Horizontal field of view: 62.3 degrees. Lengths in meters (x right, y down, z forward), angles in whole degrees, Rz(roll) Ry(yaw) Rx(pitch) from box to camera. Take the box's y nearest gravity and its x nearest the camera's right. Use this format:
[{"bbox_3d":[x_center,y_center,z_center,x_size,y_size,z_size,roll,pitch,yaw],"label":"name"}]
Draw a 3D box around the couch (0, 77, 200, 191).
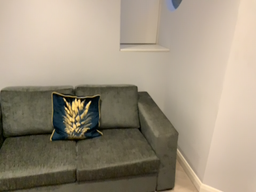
[{"bbox_3d":[-0.440,0.350,2.080,1.870,0.800,0.890,-3,22,-12],"label":"couch"}]
